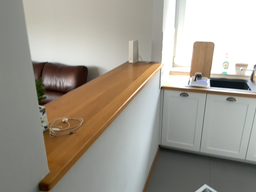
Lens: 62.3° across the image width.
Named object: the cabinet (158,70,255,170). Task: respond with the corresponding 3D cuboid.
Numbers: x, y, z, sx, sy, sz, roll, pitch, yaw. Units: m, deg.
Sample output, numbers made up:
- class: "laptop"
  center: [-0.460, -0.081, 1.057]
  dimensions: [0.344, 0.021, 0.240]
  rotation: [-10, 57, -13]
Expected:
- class: "cabinet"
  center: [1.180, 0.230, 2.620]
  dimensions: [1.430, 0.850, 0.840]
  rotation: [6, 21, 17]
